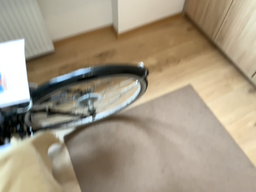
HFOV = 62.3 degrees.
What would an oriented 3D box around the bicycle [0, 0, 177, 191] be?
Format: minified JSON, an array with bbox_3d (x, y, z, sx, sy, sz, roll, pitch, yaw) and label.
[{"bbox_3d":[-0.470,0.070,0.970,1.160,1.080,0.350,-22,60,-16],"label":"bicycle"}]
